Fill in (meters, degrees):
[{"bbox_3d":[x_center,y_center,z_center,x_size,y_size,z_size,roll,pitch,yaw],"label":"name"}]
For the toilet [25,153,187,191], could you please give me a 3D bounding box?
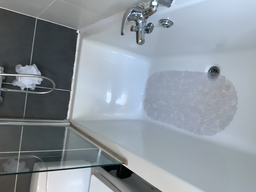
[{"bbox_3d":[-0.180,0.710,1.420,0.710,0.810,0.390,10,92,55],"label":"toilet"}]
